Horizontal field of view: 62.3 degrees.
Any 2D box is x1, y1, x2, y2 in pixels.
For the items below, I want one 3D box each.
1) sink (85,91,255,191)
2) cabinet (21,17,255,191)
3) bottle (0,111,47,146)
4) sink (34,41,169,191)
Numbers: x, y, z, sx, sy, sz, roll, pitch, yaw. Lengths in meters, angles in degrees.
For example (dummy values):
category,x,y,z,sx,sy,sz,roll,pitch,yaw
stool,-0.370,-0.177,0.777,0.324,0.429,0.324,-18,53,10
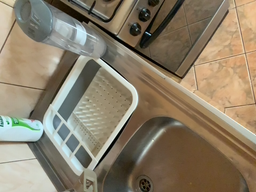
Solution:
category,x,y,z,sx,sy,sz,roll,pitch,yaw
sink,0.130,0.270,0.640,0.380,0.160,0.410,39,103,29
cabinet,0.170,0.200,1.010,0.800,0.830,0.550,39,103,29
bottle,-0.410,0.110,0.740,0.100,0.210,0.070,38,103,29
sink,-0.120,0.070,0.810,0.340,0.160,0.410,39,103,29
